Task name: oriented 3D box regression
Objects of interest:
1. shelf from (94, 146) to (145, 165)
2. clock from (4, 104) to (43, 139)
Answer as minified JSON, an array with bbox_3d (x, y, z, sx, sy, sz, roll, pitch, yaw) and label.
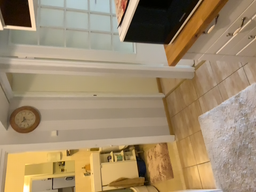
[{"bbox_3d":[-0.160,1.080,3.840,0.400,0.830,0.210,130,137,-62],"label":"shelf"},{"bbox_3d":[-1.160,0.280,2.370,0.050,0.370,0.370,129,137,-61],"label":"clock"}]
